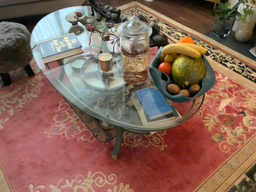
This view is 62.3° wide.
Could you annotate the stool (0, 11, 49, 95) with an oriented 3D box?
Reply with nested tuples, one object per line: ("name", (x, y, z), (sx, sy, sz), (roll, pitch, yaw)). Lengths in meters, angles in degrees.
("stool", (-0.990, -0.360, 1.720), (0.430, 0.380, 0.450), (-31, 54, -24))
